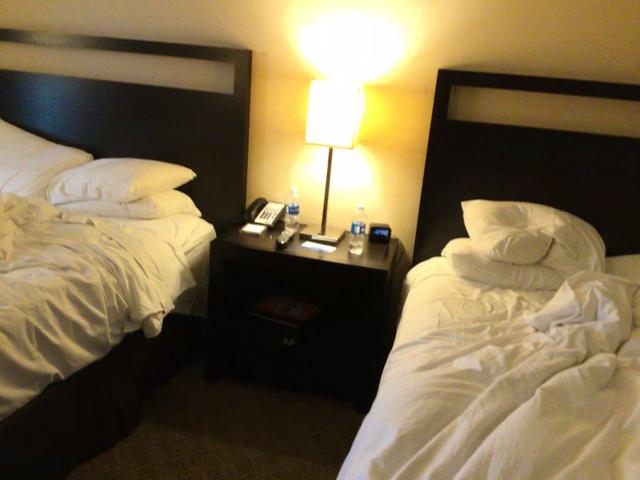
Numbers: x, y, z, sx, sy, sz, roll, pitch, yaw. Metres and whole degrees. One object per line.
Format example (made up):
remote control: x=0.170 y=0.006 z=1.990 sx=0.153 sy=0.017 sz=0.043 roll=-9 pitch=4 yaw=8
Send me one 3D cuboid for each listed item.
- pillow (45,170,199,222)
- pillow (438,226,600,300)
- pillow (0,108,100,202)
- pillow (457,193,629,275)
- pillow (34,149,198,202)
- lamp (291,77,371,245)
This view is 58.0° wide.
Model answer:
pillow: x=-0.920 y=-0.220 z=2.730 sx=0.570 sy=0.110 sz=0.380 roll=9 pitch=15 yaw=13
pillow: x=0.780 y=0.080 z=2.330 sx=0.560 sy=0.110 sz=0.380 roll=9 pitch=15 yaw=13
pillow: x=-1.450 y=-0.440 z=2.870 sx=0.660 sy=0.360 sz=0.300 roll=13 pitch=17 yaw=25
pillow: x=0.850 y=-0.040 z=2.290 sx=0.570 sy=0.160 sz=0.380 roll=9 pitch=15 yaw=13
pillow: x=-0.930 y=-0.310 z=2.690 sx=0.570 sy=0.120 sz=0.430 roll=9 pitch=15 yaw=13
lamp: x=0.050 y=-0.350 z=2.520 sx=0.220 sy=0.670 sz=0.290 roll=9 pitch=15 yaw=13
